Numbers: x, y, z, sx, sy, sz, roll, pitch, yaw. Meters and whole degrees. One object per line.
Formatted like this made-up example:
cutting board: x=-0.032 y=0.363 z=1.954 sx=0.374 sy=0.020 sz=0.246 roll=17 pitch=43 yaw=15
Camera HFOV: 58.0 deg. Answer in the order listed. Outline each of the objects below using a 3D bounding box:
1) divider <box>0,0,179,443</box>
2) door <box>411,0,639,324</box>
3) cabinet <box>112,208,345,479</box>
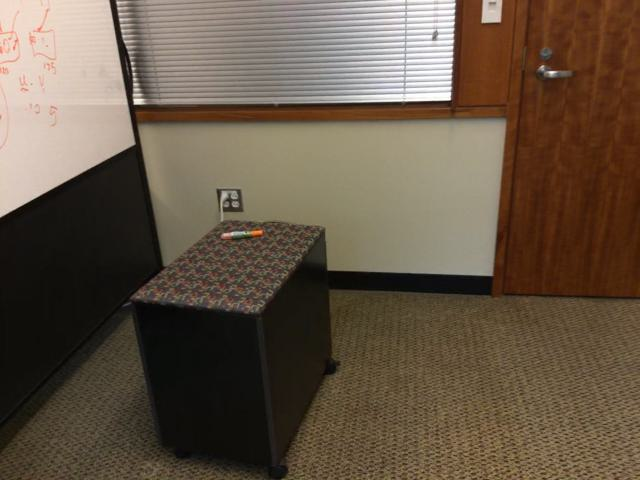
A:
divider: x=-0.900 y=-0.300 z=1.790 sx=0.180 sy=1.550 sz=1.500 roll=6 pitch=23 yaw=11
door: x=0.980 y=-1.050 z=1.850 sx=1.120 sy=2.870 sz=0.110 roll=6 pitch=23 yaw=11
cabinet: x=-0.240 y=0.300 z=1.870 sx=0.480 sy=0.590 sz=0.640 roll=7 pitch=23 yaw=14
